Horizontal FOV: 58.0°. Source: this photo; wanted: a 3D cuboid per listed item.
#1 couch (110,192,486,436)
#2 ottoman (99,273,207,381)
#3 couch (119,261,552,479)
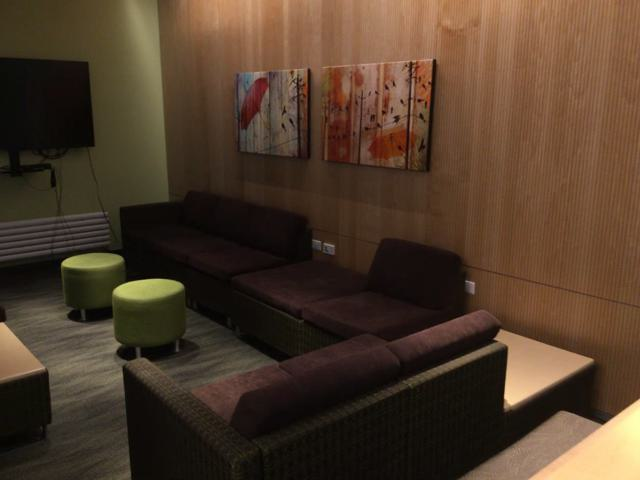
[{"bbox_3d":[-0.410,0.250,4.020,0.820,0.770,2.990,-12,18,-41],"label":"couch"},{"bbox_3d":[-1.000,0.500,3.480,0.460,0.440,0.420,-12,18,-41],"label":"ottoman"},{"bbox_3d":[0.130,0.650,2.140,1.410,0.770,0.750,-12,18,-41],"label":"couch"}]
